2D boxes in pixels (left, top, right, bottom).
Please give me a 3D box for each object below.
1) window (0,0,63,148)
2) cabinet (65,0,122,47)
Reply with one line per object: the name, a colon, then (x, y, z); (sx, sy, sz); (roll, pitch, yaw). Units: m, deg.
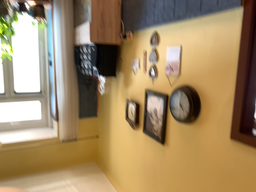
window: (-1.850, -0.480, 3.260); (1.480, 2.400, 0.620); (-3, -169, -27)
cabinet: (-0.490, -1.390, 2.790); (0.450, 1.410, 0.930); (-4, -169, -30)
